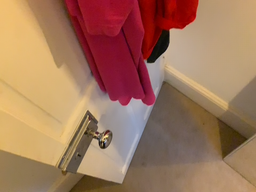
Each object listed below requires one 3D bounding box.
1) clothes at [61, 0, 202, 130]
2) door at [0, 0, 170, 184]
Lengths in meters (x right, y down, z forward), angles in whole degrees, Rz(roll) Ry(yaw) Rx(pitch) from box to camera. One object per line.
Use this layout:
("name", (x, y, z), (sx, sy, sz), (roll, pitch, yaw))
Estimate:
("clothes", (0.040, -0.270, 0.310), (0.170, 1.030, 0.340), (16, 69, 15))
("door", (-0.030, -0.190, 0.540), (0.060, 1.920, 0.740), (19, 70, 16))
